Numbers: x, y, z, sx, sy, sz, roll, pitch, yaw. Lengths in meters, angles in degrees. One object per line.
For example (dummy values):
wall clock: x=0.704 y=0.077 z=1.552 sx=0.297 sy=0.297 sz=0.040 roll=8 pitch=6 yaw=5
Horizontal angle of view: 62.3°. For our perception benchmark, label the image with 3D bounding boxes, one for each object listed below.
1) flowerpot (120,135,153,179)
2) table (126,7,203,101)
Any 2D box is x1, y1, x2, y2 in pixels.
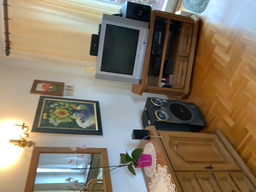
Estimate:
flowerpot: x=0.070 y=0.570 z=1.990 sx=0.290 sy=0.180 sz=0.280 roll=-104 pitch=27 yaw=-47
table: x=0.470 y=-0.540 z=2.970 sx=0.600 sy=0.710 sz=1.070 roll=-156 pitch=73 yaw=-72
